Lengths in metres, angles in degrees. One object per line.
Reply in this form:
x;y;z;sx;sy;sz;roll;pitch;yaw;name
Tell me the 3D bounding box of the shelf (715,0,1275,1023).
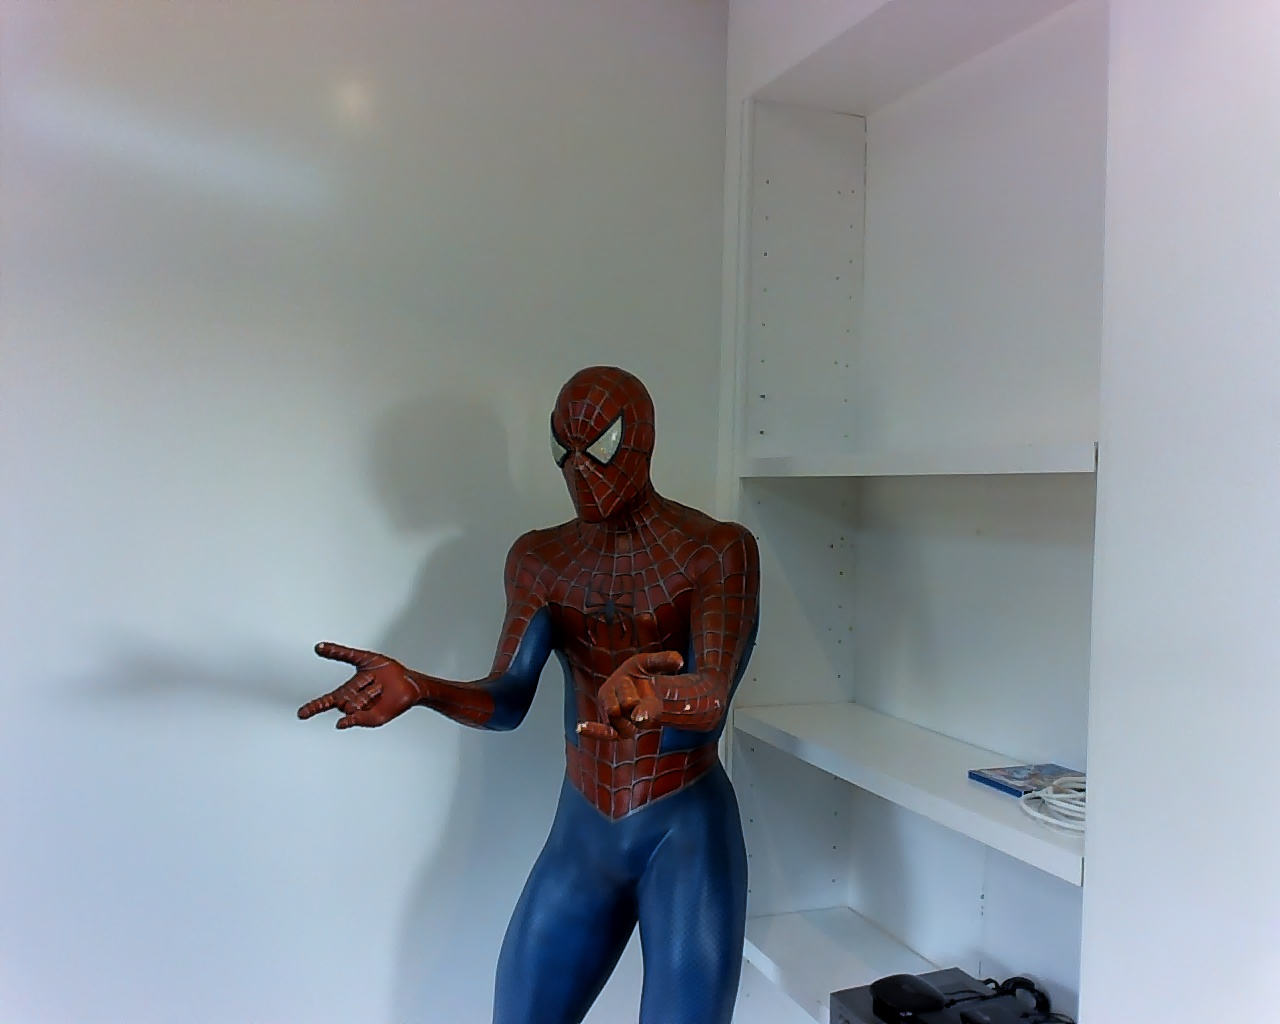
0.520;0.320;1.920;0.330;2.351;1.030;0;1;-22;shelf
